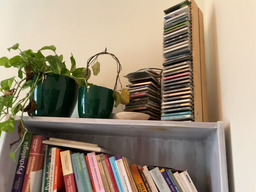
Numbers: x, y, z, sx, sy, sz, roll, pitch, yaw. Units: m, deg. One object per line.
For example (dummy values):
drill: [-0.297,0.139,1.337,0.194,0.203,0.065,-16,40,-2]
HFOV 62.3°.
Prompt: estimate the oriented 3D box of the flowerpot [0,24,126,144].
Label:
flowerpot: [-0.300,-0.020,1.050,0.470,0.440,0.430,0,-18,13]
